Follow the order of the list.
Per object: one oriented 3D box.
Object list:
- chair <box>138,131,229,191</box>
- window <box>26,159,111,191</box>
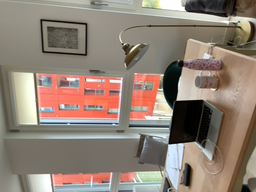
[{"bbox_3d":[0.620,0.770,2.580,0.560,0.870,0.430,-111,25,-67],"label":"chair"},{"bbox_3d":[-0.930,1.370,3.450,0.200,1.260,0.680,-108,22,-64],"label":"window"}]
